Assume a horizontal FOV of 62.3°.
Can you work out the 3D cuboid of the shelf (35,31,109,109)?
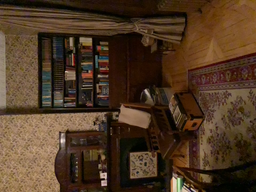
[{"bbox_3d":[-1.160,-0.520,4.520,0.270,1.470,1.560,180,90,-78],"label":"shelf"}]
